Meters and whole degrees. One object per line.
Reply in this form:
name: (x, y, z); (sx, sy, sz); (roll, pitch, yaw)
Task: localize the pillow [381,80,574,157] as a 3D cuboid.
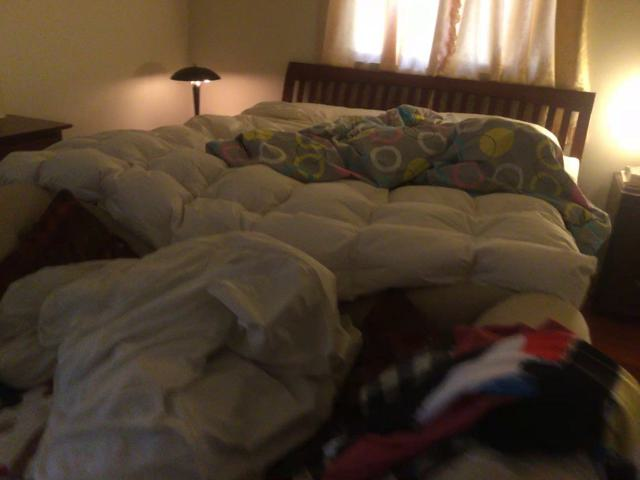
pillow: (0.840, -0.670, 3.080); (0.890, 0.250, 0.560); (11, 20, 18)
